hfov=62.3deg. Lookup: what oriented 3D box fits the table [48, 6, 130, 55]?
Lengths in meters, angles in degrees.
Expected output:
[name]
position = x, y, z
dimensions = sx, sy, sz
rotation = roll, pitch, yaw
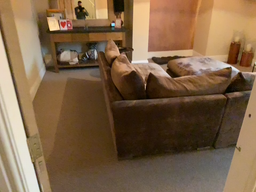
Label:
[table]
position = -0.750, -1.330, 4.280
dimensions = 1.520, 0.840, 0.440
rotation = -7, 23, -20
